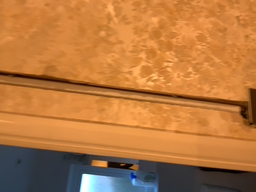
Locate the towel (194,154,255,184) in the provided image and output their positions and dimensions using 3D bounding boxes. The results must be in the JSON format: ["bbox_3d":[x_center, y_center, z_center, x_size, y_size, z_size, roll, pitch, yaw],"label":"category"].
[{"bbox_3d":[0.980,0.740,2.150,0.130,0.590,0.230,105,171,-72],"label":"towel"}]
